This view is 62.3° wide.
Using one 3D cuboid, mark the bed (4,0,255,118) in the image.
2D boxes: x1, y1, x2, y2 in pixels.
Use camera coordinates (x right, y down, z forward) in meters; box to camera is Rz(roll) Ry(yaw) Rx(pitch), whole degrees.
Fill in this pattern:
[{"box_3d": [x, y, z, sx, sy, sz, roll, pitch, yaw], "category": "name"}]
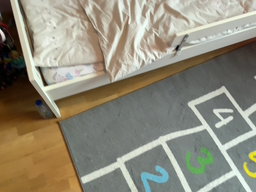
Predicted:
[{"box_3d": [0.200, -0.560, 1.350, 1.670, 0.420, 0.800, -18, 70, -14], "category": "bed"}]
